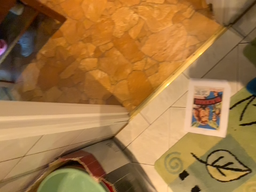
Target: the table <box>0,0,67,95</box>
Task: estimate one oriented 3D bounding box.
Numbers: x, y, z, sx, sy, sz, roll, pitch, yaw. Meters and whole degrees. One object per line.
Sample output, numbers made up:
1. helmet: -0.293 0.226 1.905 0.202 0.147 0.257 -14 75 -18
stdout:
1. table: -0.960 -0.460 1.470 0.820 0.510 0.430 -44 73 13
